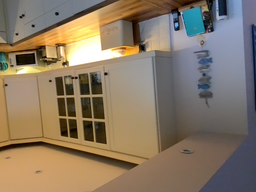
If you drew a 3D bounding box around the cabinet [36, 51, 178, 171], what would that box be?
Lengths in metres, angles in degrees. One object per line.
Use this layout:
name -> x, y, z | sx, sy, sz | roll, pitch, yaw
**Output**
cabinet -> -0.420, 0.130, 2.520 | 2.000, 1.000, 0.320 | -1, -174, 41
